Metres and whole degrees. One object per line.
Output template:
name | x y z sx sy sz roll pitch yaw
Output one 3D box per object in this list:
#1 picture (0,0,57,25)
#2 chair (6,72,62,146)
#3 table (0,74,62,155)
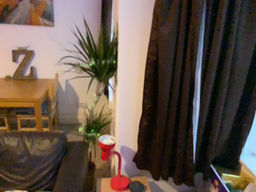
picture | -1.430 -1.270 2.810 0.900 0.580 0.050 1 18 -5
chair | -1.190 0.160 2.800 0.490 0.850 0.450 1 18 -5
table | -1.470 0.190 2.830 0.940 0.750 0.950 0 18 -6
